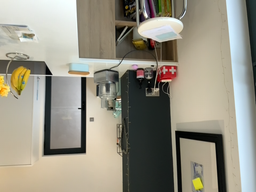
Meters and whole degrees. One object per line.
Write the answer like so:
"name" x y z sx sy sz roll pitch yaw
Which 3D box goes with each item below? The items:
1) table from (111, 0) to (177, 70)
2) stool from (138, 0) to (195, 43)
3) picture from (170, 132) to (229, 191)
"table" 0.140 -0.740 2.110 0.590 0.910 0.220 0 174 -13
"stool" 0.290 -0.870 1.760 0.350 0.750 0.340 0 174 -10
"picture" 0.510 0.660 1.610 0.070 0.730 0.690 0 174 -12
